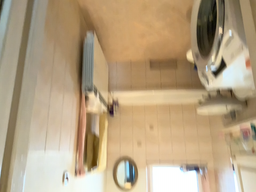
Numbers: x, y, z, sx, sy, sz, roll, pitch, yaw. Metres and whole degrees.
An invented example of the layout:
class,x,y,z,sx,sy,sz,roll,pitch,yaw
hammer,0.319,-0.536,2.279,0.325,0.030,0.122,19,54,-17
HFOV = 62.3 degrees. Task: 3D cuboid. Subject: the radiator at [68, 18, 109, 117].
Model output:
class,x,y,z,sx,sy,sz,roll,pitch,yaw
radiator,-0.370,-0.220,2.260,0.170,0.740,0.920,-2,165,5
